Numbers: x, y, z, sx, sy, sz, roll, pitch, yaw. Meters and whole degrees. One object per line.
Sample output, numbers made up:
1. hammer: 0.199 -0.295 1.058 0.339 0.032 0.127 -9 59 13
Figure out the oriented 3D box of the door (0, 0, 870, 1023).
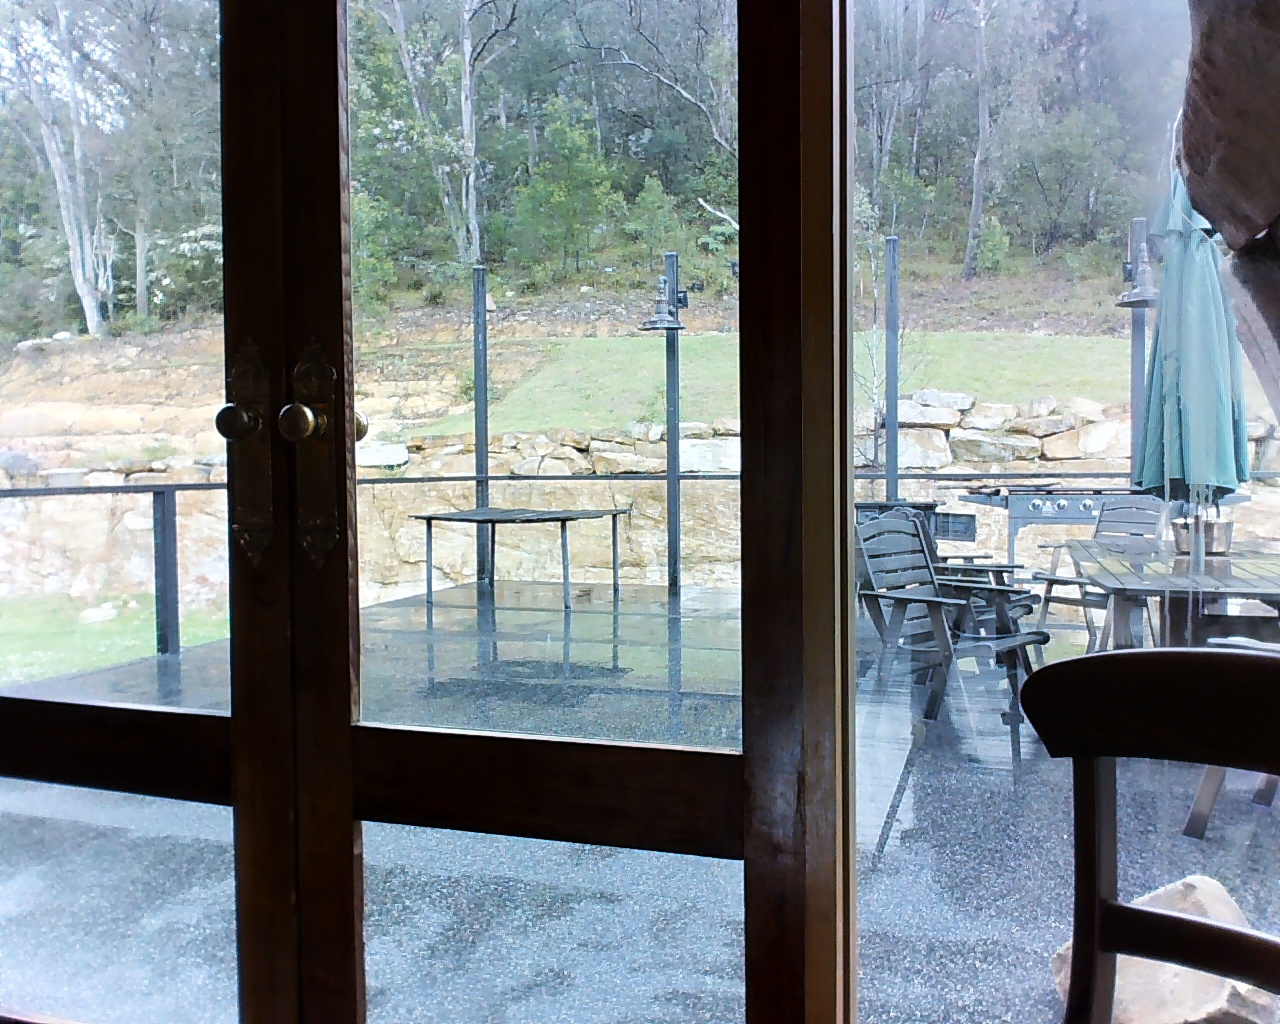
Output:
1. door: -0.540 0.000 1.590 1.699 2.031 0.140 1 2 19
